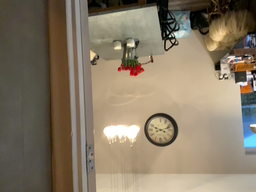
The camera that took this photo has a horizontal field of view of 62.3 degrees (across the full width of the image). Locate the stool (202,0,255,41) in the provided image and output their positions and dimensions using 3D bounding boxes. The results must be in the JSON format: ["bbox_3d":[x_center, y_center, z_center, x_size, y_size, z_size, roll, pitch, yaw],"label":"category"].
[{"bbox_3d":[1.250,-1.150,2.690,0.490,0.720,0.470,-4,178,10],"label":"stool"}]

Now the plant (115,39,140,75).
[{"bbox_3d":[0.000,-0.470,2.610,0.240,0.380,0.240,-4,178,11],"label":"plant"}]
